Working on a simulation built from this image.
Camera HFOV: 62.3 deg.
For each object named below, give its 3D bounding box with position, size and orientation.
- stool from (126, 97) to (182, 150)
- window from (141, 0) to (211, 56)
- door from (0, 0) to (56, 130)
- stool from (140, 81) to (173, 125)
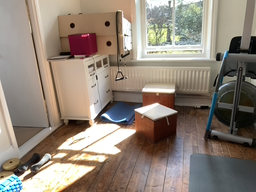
[{"bbox_3d":[0.310,0.300,2.510,0.450,0.370,0.460,-19,26,-38],"label":"stool"},{"bbox_3d":[0.700,-1.400,3.160,0.970,1.560,0.240,2,19,12],"label":"window"},{"bbox_3d":[-1.430,-0.430,2.590,0.820,1.770,0.160,0,19,9],"label":"door"},{"bbox_3d":[0.420,0.080,3.040,0.430,0.480,0.480,1,19,11],"label":"stool"}]
